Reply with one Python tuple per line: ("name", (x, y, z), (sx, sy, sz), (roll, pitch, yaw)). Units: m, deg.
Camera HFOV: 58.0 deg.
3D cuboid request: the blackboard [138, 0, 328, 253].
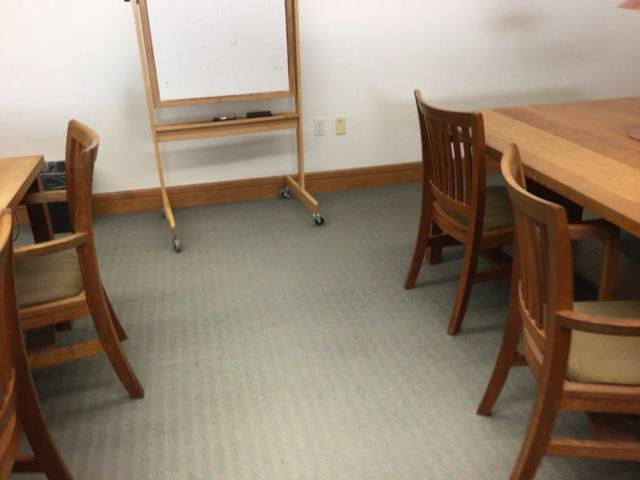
("blackboard", (-0.470, -0.810, 3.230), (0.870, 1.560, 0.620), (-6, 21, -11))
